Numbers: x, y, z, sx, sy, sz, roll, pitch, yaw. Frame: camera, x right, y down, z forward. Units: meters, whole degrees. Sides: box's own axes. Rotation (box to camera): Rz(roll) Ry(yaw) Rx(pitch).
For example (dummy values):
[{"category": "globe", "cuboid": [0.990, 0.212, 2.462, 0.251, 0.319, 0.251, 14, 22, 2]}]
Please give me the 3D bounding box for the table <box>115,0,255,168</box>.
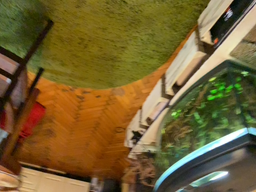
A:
[{"category": "table", "cuboid": [0.480, 0.000, 1.640, 0.580, 0.350, 1.920, 17, 139, -11]}]
